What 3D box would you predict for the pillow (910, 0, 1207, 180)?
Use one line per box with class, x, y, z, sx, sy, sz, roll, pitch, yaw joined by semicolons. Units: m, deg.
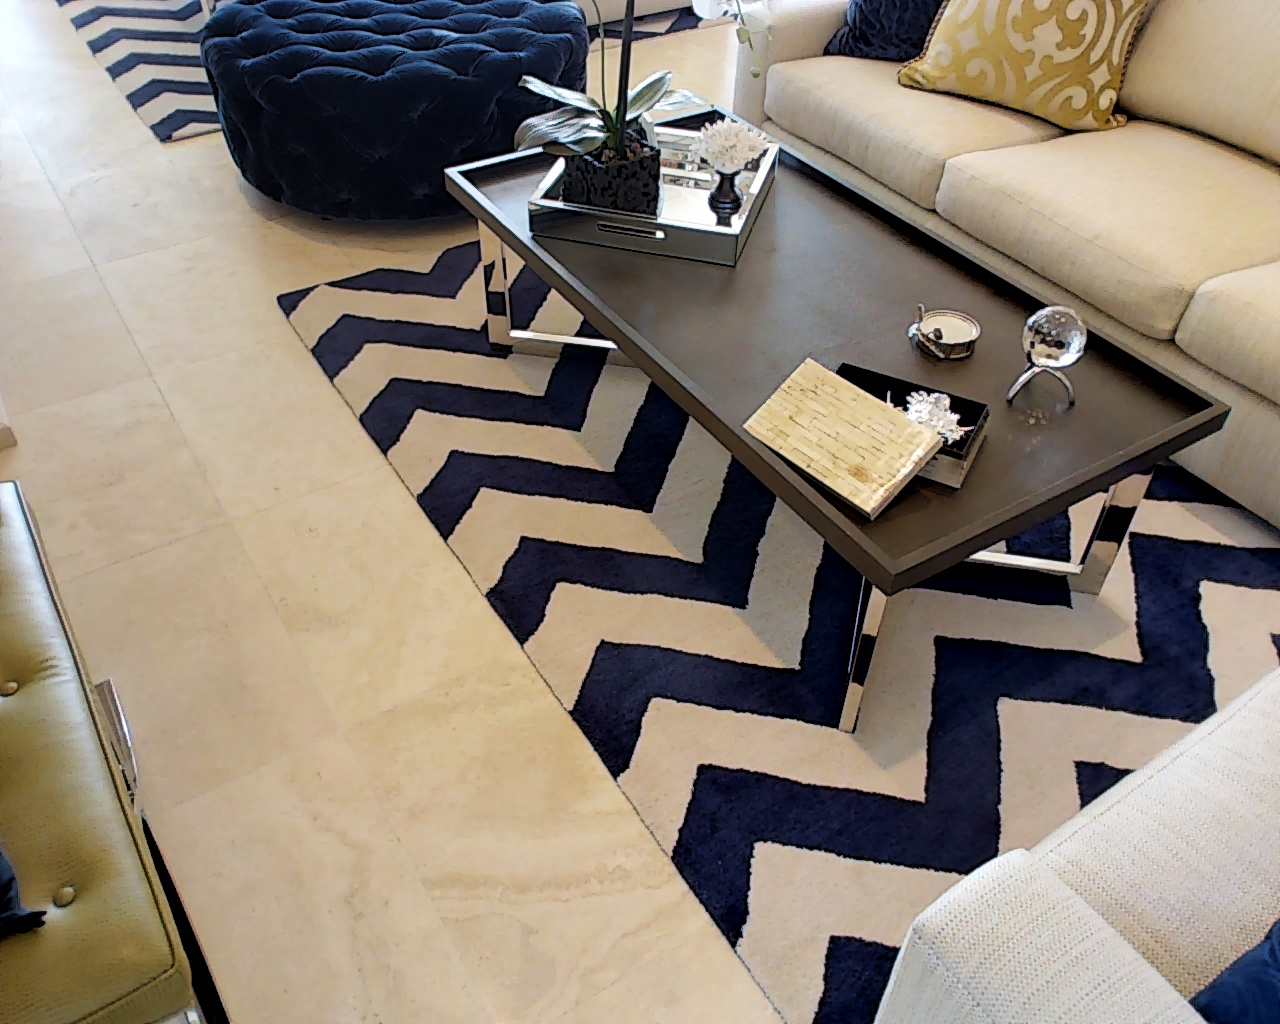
pillow;1.040;-1.260;2.660;0.620;0.620;0.390;-4;52;25
